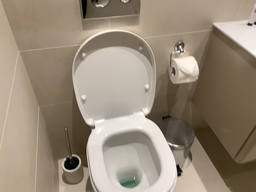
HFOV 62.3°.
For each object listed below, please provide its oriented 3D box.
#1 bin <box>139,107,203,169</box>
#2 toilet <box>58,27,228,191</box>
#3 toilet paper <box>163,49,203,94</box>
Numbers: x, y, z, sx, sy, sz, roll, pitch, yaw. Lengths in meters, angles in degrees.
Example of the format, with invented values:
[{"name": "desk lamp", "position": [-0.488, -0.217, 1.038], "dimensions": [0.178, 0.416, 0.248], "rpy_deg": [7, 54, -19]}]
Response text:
[{"name": "bin", "position": [0.250, 0.260, 1.320], "dimensions": [0.290, 0.260, 0.220], "rpy_deg": [-9, 43, -12]}, {"name": "toilet", "position": [-0.020, 0.210, 0.950], "dimensions": [0.400, 0.820, 0.510], "rpy_deg": [-9, 44, -12]}, {"name": "toilet paper", "position": [0.260, -0.120, 1.030], "dimensions": [0.120, 0.160, 0.120], "rpy_deg": [-10, 44, -13]}]
